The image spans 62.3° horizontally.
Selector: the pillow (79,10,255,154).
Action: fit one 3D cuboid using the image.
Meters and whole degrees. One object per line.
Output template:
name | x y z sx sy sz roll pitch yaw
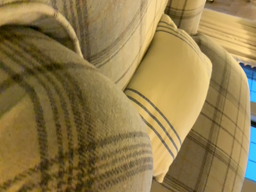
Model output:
pillow | 0.120 -0.050 0.600 0.440 0.270 0.150 -15 154 -10
